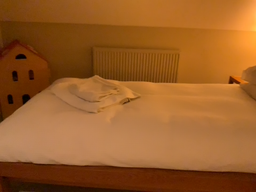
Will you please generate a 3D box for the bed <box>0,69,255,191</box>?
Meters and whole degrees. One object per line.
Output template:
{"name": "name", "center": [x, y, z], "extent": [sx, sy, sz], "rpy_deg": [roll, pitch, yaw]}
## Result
{"name": "bed", "center": [0.320, 0.230, 1.540], "extent": [2.120, 0.520, 1.110], "rpy_deg": [3, 20, 0]}
